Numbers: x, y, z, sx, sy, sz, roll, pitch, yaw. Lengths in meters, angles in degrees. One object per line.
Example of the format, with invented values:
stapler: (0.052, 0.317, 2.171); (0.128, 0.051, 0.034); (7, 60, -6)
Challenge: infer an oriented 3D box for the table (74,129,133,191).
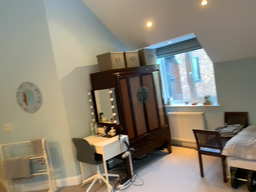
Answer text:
table: (-0.400, 1.000, 3.450); (0.710, 0.750, 0.500); (-4, 8, 46)

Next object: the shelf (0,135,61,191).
shelf: (-1.610, 1.140, 3.330); (0.900, 0.890, 0.230); (-9, 6, 4)

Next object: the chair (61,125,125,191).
chair: (-0.530, 0.970, 3.290); (0.590, 0.890, 0.590); (-4, 8, 42)
